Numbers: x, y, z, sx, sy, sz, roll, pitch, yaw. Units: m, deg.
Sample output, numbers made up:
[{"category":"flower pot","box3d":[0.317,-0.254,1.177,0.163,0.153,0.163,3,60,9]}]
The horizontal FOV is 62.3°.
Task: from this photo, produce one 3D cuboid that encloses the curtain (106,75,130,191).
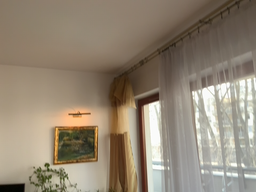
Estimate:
[{"category":"curtain","box3d":[-0.140,0.970,2.930,0.170,2.480,0.390,2,-11,-24]}]
